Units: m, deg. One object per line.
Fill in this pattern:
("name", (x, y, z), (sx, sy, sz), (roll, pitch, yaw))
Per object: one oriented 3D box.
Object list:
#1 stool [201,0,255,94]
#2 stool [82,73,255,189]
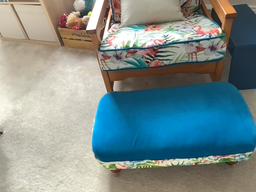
("stool", (0.630, -0.310, 1.280), (0.210, 0.310, 0.510), (-6, 45, 5))
("stool", (0.160, 0.150, 0.970), (0.650, 0.230, 0.390), (-7, 44, 3))
